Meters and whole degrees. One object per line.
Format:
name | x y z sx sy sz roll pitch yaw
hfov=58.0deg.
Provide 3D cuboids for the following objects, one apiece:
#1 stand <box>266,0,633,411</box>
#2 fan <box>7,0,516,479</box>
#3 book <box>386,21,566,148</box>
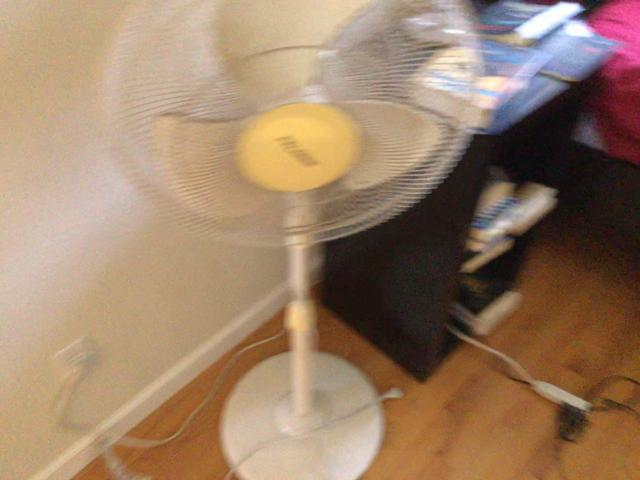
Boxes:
stand | 0.270 -0.130 1.450 0.530 0.850 0.510 33 52 33
fan | -0.060 0.030 1.080 0.460 1.160 0.500 -7 42 -5
book | 0.280 -0.290 1.040 0.180 0.080 0.280 33 52 33
